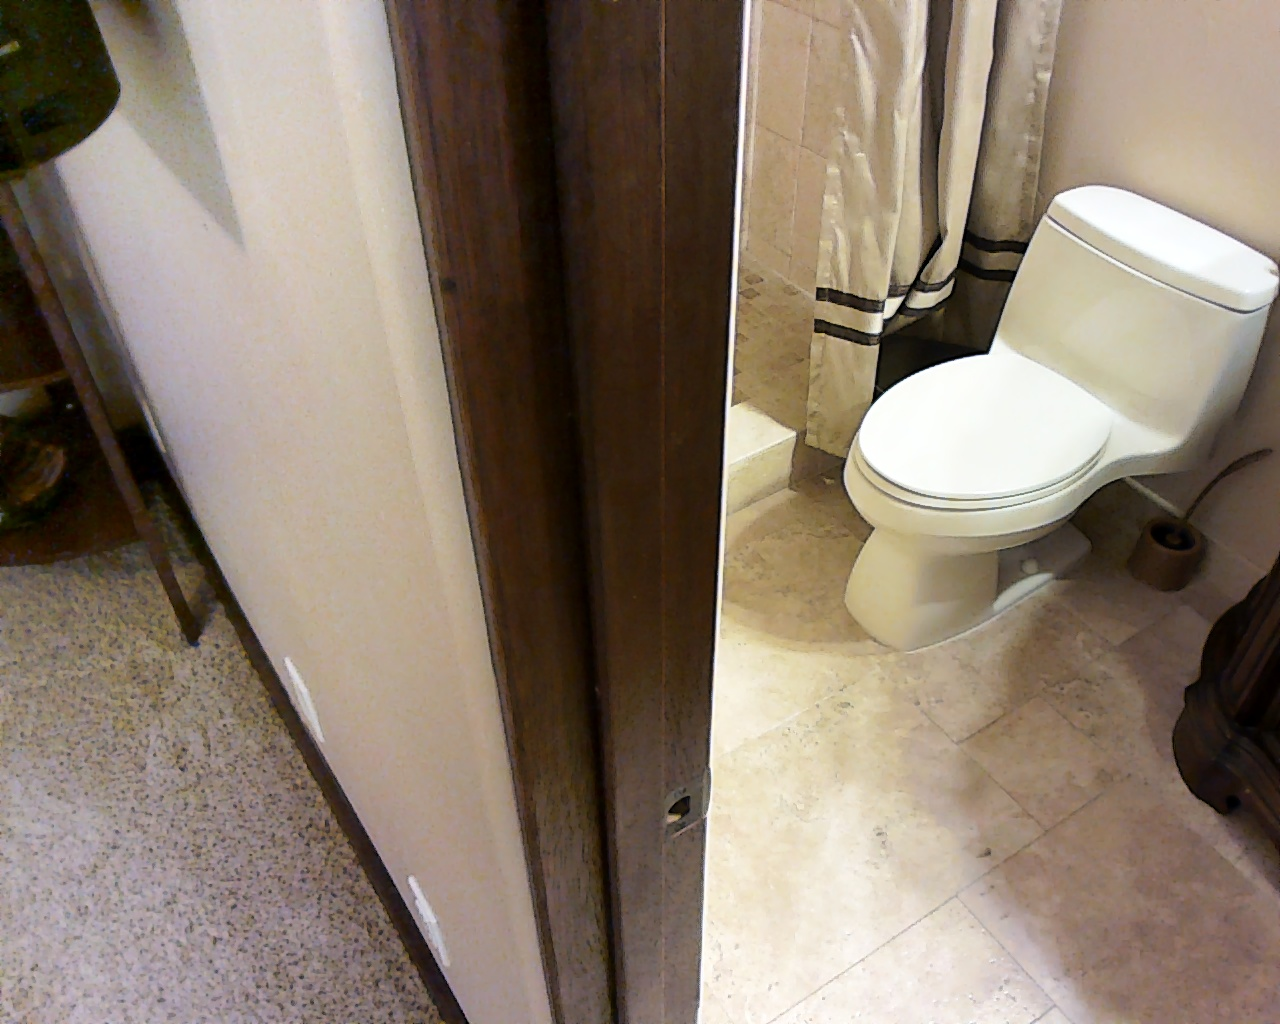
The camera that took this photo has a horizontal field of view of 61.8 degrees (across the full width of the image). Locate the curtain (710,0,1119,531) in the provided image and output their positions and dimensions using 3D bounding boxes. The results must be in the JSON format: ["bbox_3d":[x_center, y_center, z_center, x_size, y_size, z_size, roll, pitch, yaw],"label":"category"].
[{"bbox_3d":[0.470,-0.930,1.760,0.560,2.050,0.380,-25,47,-23],"label":"curtain"}]
